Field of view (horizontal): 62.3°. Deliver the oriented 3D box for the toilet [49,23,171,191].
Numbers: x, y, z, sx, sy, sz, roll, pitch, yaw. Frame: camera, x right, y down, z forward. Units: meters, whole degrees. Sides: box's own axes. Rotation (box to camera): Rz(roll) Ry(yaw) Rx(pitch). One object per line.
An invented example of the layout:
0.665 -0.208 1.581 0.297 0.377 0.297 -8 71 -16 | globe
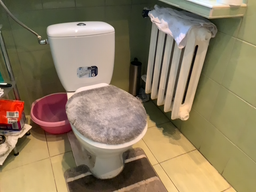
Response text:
-0.150 0.070 1.180 0.350 0.740 0.650 -12 37 -21 | toilet
